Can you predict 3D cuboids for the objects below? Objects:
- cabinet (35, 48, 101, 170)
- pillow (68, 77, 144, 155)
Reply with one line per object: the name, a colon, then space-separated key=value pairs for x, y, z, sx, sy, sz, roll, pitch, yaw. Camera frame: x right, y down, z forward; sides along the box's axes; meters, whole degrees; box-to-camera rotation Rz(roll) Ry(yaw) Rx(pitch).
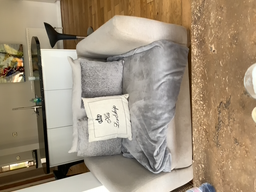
cabinet: x=-1.000 y=0.170 z=3.620 sx=0.900 sy=1.890 sz=0.450 roll=-6 pitch=9 yaw=-30
pillow: x=-0.170 y=0.170 z=1.850 sx=0.470 sy=0.470 sz=0.130 roll=-51 pitch=24 yaw=-19
